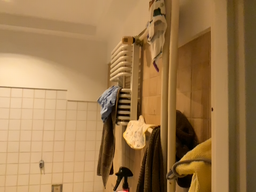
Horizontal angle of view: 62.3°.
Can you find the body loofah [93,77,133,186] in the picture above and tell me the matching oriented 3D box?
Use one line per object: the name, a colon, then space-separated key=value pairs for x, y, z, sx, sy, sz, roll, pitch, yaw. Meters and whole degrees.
body loofah: x=-0.120 y=0.220 z=1.470 sx=0.170 sy=0.640 sz=0.380 roll=3 pitch=-4 yaw=-17
